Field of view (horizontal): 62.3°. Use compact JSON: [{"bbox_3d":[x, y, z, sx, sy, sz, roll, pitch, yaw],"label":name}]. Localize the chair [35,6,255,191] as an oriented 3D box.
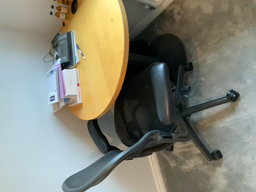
[{"bbox_3d":[0.070,0.130,1.250,0.790,0.900,0.680,-33,65,46],"label":"chair"}]
